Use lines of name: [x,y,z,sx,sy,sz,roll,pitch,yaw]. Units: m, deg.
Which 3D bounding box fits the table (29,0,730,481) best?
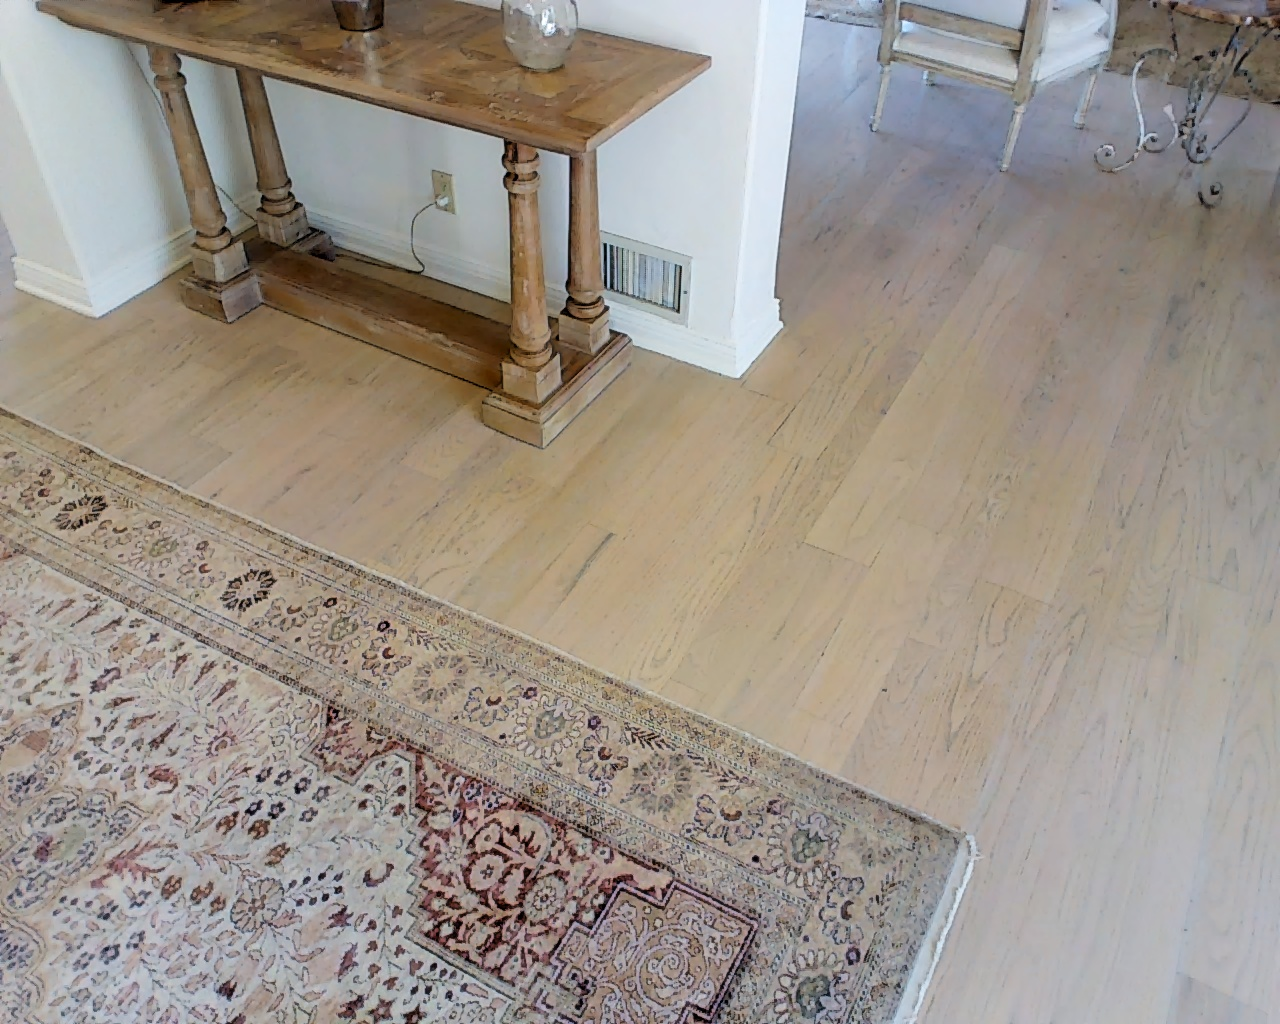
table: [-0.620,-0.800,2.670,1.540,0.820,0.550,22,47,21]
